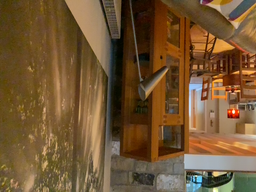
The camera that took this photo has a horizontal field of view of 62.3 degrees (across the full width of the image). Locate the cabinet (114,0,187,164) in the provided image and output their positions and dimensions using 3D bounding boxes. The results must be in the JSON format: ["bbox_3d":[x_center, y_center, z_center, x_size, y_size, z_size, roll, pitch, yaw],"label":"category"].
[{"bbox_3d":[0.310,-0.250,2.600,0.530,1.900,0.760,-2,174,41],"label":"cabinet"}]
